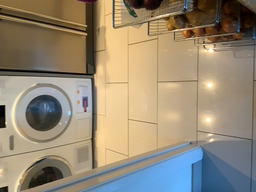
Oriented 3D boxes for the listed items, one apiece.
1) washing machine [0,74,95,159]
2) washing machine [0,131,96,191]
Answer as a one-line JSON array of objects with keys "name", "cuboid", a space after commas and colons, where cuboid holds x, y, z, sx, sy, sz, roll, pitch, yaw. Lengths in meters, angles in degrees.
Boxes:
[{"name": "washing machine", "cuboid": [-0.900, 0.130, 1.980, 0.710, 0.920, 0.600, 1, 92, 46]}, {"name": "washing machine", "cuboid": [-0.890, 0.740, 2.000, 0.710, 0.910, 0.610, 1, 92, 46]}]
